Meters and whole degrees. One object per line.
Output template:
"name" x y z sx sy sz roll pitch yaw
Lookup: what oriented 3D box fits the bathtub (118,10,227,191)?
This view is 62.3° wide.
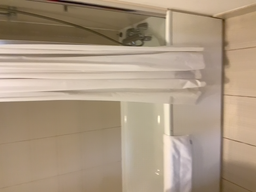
"bathtub" 0.340 0.300 1.820 0.690 0.560 1.750 8 101 61
